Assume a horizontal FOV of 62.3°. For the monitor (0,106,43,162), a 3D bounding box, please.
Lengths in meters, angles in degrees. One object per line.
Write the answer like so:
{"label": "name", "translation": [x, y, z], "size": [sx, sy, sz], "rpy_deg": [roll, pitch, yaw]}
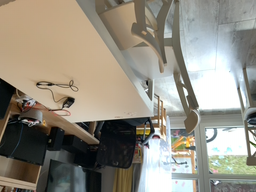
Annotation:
{"label": "monitor", "translation": [-1.070, 0.380, 2.060], "size": [0.030, 0.410, 0.460], "rpy_deg": [-11, 148, 27]}

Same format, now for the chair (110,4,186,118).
{"label": "chair", "translation": [0.180, -0.270, 1.680], "size": [0.470, 0.770, 0.430], "rpy_deg": [-1, 151, 10]}

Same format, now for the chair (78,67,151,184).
{"label": "chair", "translation": [-0.140, 0.360, 2.490], "size": [0.610, 1.160, 0.580], "rpy_deg": [13, 151, -15]}

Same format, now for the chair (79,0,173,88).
{"label": "chair", "translation": [0.030, -0.500, 1.280], "size": [0.360, 0.770, 0.360], "rpy_deg": [-12, 148, 28]}

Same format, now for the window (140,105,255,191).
{"label": "window", "translation": [1.480, 1.510, 2.810], "size": [2.710, 2.920, 0.220], "rpy_deg": [-6, 150, 18]}
